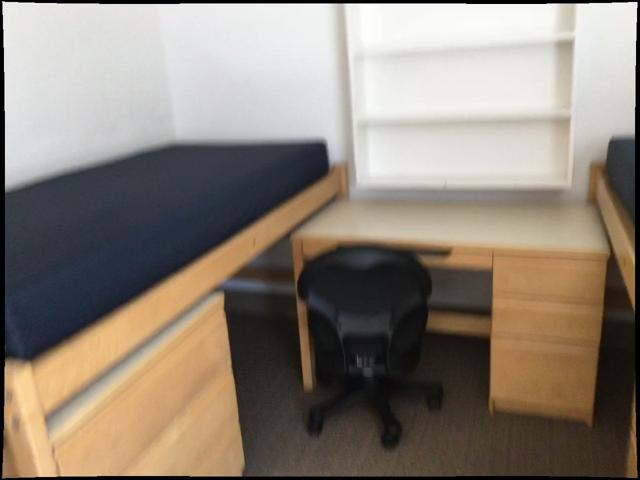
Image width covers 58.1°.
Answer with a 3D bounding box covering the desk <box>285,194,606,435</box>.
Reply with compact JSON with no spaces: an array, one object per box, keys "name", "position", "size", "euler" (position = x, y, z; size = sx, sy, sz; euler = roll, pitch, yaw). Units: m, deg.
[{"name":"desk","position":[0.578,0.251,2.620],"size":[1.207,0.762,0.720],"euler":[2,19,22]}]
